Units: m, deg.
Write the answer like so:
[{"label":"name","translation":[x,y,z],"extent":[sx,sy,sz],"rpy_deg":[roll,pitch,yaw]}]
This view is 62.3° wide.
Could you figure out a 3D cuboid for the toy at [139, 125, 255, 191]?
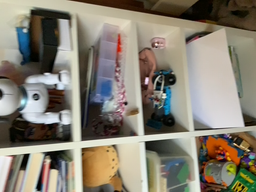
[{"label":"toy","translation":[0.310,0.330,0.860],"extent":[0.370,0.390,0.400],"rpy_deg":[164,104,-66]}]
